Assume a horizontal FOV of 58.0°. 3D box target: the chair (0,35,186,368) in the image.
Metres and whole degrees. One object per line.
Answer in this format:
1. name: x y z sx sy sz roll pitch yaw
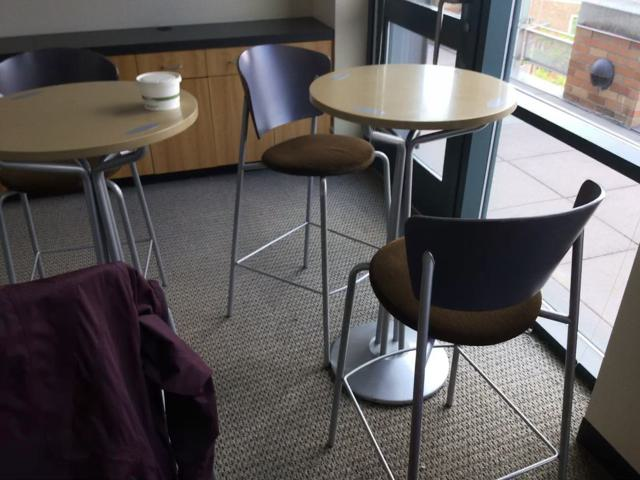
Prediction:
1. chair: -0.870 -0.180 2.150 0.570 1.040 0.600 -7 26 -17

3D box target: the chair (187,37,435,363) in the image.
1. chair: -0.040 -0.200 2.180 0.630 0.990 0.570 23 33 40

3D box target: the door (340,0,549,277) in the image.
1. door: 0.510 -0.990 2.780 0.360 1.950 1.240 -7 26 -17

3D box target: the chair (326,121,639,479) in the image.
1. chair: 0.360 0.260 1.490 0.500 0.970 0.610 -7 26 -17
